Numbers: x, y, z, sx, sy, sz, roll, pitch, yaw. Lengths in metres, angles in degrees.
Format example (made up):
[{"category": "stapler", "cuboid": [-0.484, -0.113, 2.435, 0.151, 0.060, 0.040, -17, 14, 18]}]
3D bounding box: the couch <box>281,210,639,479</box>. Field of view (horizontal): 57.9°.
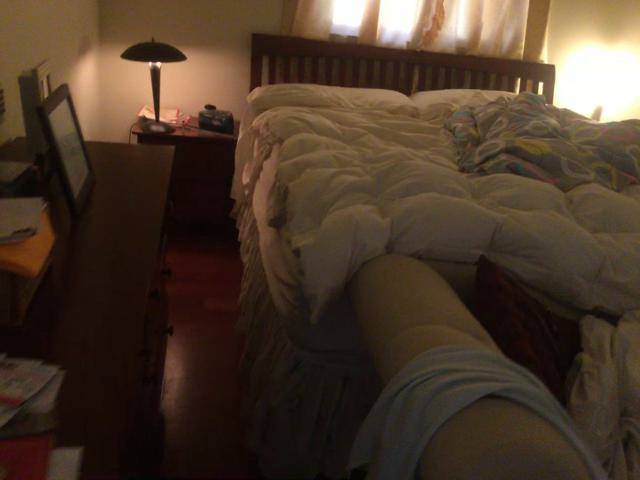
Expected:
[{"category": "couch", "cuboid": [0.920, 0.490, 1.340, 1.860, 0.840, 0.910, 0, 21, -13]}]
